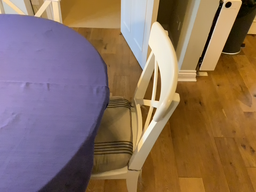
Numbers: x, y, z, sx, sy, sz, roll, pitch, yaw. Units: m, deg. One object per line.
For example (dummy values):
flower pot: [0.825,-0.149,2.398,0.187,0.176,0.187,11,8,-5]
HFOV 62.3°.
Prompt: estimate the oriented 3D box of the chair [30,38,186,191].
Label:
chair: [-0.090,0.190,1.040,0.450,0.820,0.380,-5,49,-7]
